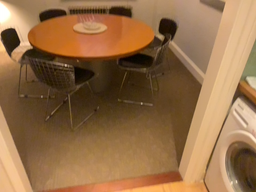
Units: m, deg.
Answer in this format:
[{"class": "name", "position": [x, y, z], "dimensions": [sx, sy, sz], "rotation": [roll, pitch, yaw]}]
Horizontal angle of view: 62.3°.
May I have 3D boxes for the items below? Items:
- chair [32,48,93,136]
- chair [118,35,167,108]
[{"class": "chair", "position": [-0.620, -0.040, 2.170], "dimensions": [0.340, 0.730, 0.460], "rotation": [9, 35, 8]}, {"class": "chair", "position": [0.160, -0.300, 2.600], "dimensions": [0.460, 0.730, 0.340], "rotation": [15, 36, 16]}]
